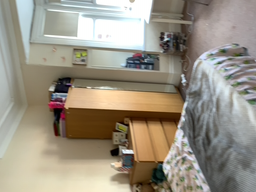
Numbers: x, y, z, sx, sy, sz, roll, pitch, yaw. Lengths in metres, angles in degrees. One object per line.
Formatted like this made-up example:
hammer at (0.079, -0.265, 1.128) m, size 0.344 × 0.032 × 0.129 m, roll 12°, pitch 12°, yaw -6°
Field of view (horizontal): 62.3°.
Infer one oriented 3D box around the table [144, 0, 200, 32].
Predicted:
table at (0.730, -1.720, 3.460) m, size 0.730 × 0.680 × 1.070 m, roll -99°, pitch 14°, yaw -57°
